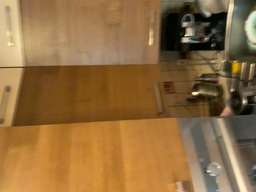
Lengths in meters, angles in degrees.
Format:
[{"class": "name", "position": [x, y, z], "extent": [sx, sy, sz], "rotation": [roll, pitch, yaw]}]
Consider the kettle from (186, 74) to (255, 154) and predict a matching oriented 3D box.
[{"class": "kettle", "position": [0.540, 0.120, 1.110], "extent": [0.520, 0.270, 0.180], "rotation": [100, 166, -56]}]
